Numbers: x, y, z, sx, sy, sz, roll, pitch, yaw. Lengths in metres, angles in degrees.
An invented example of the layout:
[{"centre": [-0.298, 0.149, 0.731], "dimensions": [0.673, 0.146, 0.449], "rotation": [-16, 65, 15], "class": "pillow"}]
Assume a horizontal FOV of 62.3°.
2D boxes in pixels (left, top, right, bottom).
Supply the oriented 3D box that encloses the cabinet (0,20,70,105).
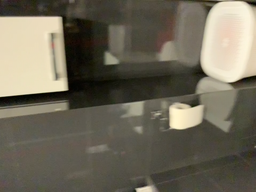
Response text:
[{"centre": [-0.610, -0.150, 0.920], "dimensions": [0.200, 0.650, 0.340], "rotation": [-136, 43, -61], "class": "cabinet"}]
